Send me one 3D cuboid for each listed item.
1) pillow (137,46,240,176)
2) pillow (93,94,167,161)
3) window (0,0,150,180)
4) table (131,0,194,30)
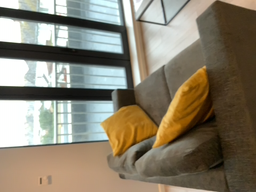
[{"bbox_3d":[0.330,0.140,1.360,0.200,0.440,0.810,45,148,31],"label":"pillow"},{"bbox_3d":[0.000,0.280,2.190,0.650,0.450,0.220,38,140,45],"label":"pillow"},{"bbox_3d":[-0.780,-0.450,2.940,0.190,2.170,2.940,144,128,-60],"label":"window"},{"bbox_3d":[0.450,-1.260,2.240,1.060,0.440,0.540,144,123,-61],"label":"table"}]
